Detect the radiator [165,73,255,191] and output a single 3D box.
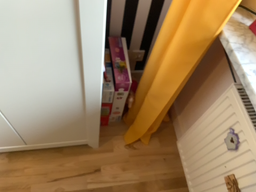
[{"bbox_3d":[0.400,0.480,0.860,0.110,0.640,0.940,-3,60,-11],"label":"radiator"}]
